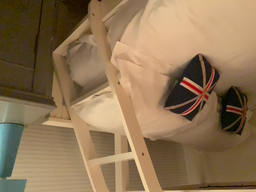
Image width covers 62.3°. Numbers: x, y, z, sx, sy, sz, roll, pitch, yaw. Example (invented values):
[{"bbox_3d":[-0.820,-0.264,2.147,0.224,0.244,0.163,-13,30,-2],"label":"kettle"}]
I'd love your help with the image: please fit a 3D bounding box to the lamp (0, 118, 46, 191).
[{"bbox_3d":[-0.460,0.300,0.780,0.190,0.380,0.230,16,152,-41],"label":"lamp"}]
